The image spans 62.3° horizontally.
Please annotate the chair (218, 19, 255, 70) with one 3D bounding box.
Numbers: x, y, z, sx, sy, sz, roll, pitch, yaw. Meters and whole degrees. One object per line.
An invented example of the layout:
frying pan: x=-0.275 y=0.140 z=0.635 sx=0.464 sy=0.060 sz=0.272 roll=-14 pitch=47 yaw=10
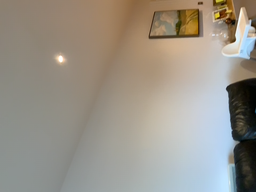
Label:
chair: x=1.650 y=-0.650 z=2.670 sx=0.410 sy=0.870 sz=0.490 roll=75 pitch=-157 yaw=-48
